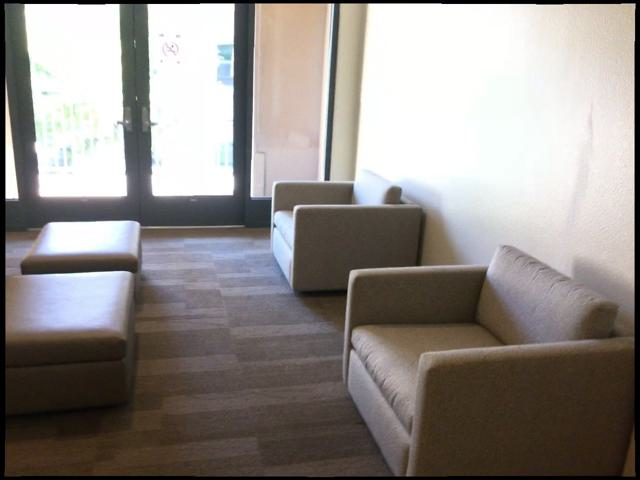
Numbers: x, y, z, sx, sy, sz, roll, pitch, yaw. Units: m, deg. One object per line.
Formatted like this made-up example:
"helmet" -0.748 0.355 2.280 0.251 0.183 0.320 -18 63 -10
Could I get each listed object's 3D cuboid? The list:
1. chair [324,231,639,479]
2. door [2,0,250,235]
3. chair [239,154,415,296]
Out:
"chair" 0.609 0.471 2.330 0.938 0.741 0.900 -3 19 -16
"door" -1.477 -1.212 4.670 1.767 2.284 0.330 -3 19 -16
"chair" -0.020 -0.170 4.180 0.978 0.711 1.070 -3 19 -16
